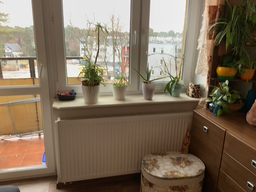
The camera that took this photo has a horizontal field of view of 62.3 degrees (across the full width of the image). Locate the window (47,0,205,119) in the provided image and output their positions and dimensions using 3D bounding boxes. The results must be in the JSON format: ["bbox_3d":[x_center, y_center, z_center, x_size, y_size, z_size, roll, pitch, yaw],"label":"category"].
[{"bbox_3d":[0.030,-0.620,2.030,1.480,1.620,0.120,-3,17,-17],"label":"window"}]
